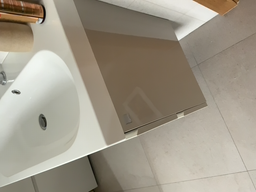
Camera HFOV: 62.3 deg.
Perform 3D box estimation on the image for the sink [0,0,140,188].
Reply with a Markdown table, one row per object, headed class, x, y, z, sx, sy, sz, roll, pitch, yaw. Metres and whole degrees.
| class | x | y | z | sx | sy | sz | roll | pitch | yaw |
| --- | --- | --- | --- | --- | --- | --- | --- | --- | --- |
| sink | -0.350 | 0.080 | 0.770 | 0.810 | 0.100 | 0.400 | -28 | 79 | 40 |
